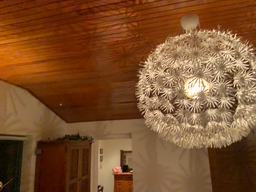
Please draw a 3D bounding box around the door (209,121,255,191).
[{"bbox_3d":[1.580,1.410,2.930,0.640,2.050,0.060,-12,-17,38],"label":"door"}]
